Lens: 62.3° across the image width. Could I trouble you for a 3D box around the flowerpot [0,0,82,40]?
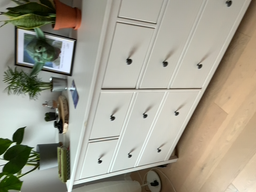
[{"bbox_3d":[-0.450,-0.430,1.080,0.260,0.350,0.150,56,137,43],"label":"flowerpot"}]
